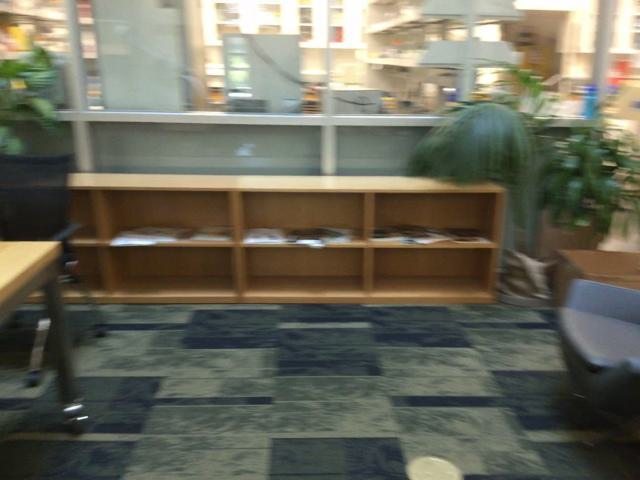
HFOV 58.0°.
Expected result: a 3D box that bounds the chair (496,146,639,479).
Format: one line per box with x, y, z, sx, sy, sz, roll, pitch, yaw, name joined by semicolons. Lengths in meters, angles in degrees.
1.240;0.250;2.140;0.920;1.100;0.710;4;12;7;chair
